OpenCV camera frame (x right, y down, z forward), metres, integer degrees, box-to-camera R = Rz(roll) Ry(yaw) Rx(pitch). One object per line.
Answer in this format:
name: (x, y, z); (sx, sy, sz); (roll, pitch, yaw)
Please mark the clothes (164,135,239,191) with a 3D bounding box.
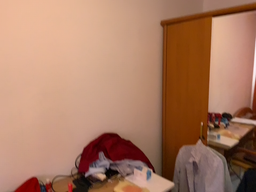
clothes: (0.610, 0.850, 1.900); (0.160, 0.840, 0.610); (-9, 14, -38)
